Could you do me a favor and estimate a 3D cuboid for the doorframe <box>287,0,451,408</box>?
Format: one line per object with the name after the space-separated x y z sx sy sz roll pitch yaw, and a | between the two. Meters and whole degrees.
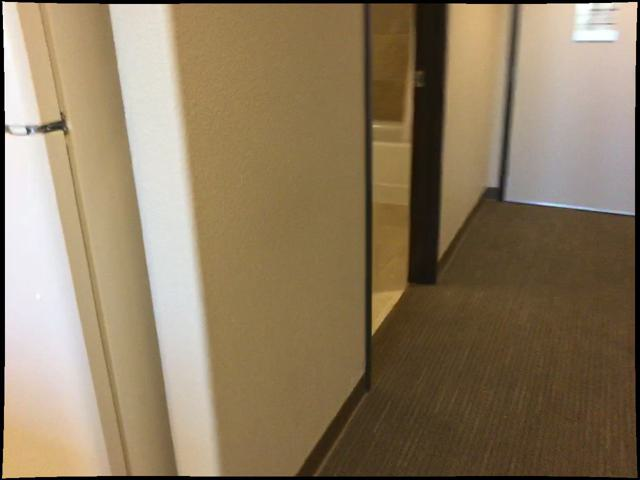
0.249 -0.241 2.320 0.230 1.353 1.120 9 25 22 | doorframe
